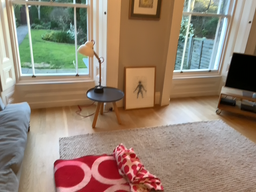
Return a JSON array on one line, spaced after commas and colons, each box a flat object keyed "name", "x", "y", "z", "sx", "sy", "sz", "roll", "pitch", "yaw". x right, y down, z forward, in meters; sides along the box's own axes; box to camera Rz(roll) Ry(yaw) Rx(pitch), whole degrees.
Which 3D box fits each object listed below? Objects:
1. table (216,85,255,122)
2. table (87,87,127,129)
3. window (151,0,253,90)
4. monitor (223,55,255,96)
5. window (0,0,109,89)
[{"name": "table", "x": 1.960, "y": 0.160, "z": 3.260, "sx": 1.050, "sy": 0.380, "sz": 0.320, "roll": 14, "pitch": 25, "yaw": 23}, {"name": "table", "x": -0.300, "y": 0.140, "z": 2.890, "sx": 0.440, "sy": 0.390, "sz": 0.430, "roll": -4, "pitch": 24, "yaw": -18}, {"name": "window", "x": 1.270, "y": -1.350, "z": 3.540, "sx": 1.430, "sy": 2.440, "sz": 0.450, "roll": -3, "pitch": 24, "yaw": -17}, {"name": "monitor", "x": 1.920, "y": -0.260, "z": 3.080, "sx": 0.880, "sy": 0.540, "sz": 0.030, "roll": 12, "pitch": 24, "yaw": 19}, {"name": "window", "x": -0.970, "y": -1.250, "z": 2.830, "sx": 1.370, "sy": 2.280, "sz": 0.410, "roll": -3, "pitch": 24, "yaw": -16}]
